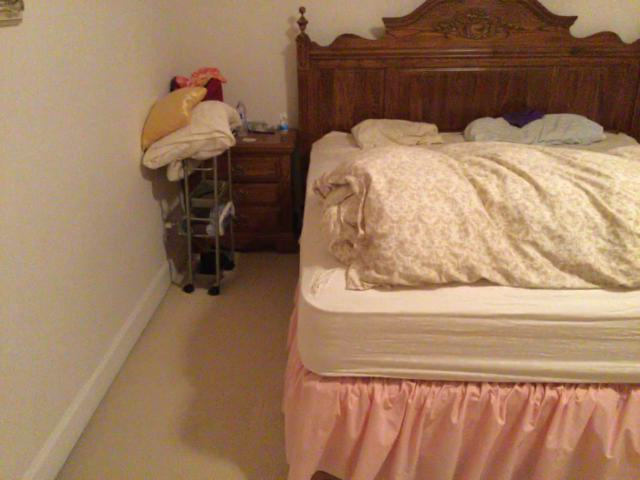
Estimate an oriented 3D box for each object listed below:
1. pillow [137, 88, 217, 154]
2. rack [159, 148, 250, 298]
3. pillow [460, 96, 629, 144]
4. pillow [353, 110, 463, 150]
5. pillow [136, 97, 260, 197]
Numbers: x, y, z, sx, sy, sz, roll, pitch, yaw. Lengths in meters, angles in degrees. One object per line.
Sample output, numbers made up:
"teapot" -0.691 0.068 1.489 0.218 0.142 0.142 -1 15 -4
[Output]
"pillow" -0.660 -0.570 2.730 0.220 0.250 0.410 -2 18 5
"rack" -0.570 -0.100 2.970 0.280 0.660 0.450 -2 18 5
"pillow" 1.150 -0.640 3.060 0.730 0.170 0.450 -2 18 6
"pillow" 0.460 -0.600 3.120 0.540 0.130 0.500 -2 18 6
"pillow" -0.560 -0.470 2.810 0.400 0.380 0.580 -2 18 5
